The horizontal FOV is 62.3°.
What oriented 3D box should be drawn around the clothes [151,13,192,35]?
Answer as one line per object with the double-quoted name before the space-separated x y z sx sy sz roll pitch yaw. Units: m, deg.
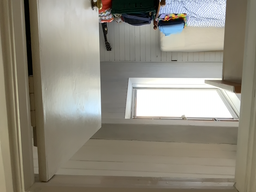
"clothes" 0.620 -1.050 3.150 0.520 0.190 0.570 0 -173 4
